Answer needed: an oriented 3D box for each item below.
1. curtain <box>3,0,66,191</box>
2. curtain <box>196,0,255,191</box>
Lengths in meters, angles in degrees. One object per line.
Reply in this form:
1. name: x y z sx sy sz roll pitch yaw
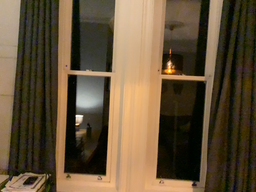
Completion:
1. curtain: -0.830 -0.010 1.900 0.420 3.140 0.230 3 3 1
2. curtain: 0.910 0.080 1.770 0.490 2.970 0.250 3 3 4
